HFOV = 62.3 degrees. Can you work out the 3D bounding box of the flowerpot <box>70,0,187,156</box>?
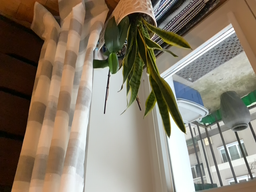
[{"bbox_3d":[0.010,-0.080,0.960,0.370,0.580,0.290,-12,146,15],"label":"flowerpot"}]
